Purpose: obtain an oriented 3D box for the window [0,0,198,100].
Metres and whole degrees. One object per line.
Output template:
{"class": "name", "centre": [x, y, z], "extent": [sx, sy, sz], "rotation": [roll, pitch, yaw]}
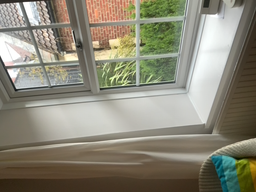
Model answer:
{"class": "window", "centre": [-0.310, -0.340, 1.500], "extent": [0.090, 1.490, 0.780], "rotation": [-98, 5, -45]}
